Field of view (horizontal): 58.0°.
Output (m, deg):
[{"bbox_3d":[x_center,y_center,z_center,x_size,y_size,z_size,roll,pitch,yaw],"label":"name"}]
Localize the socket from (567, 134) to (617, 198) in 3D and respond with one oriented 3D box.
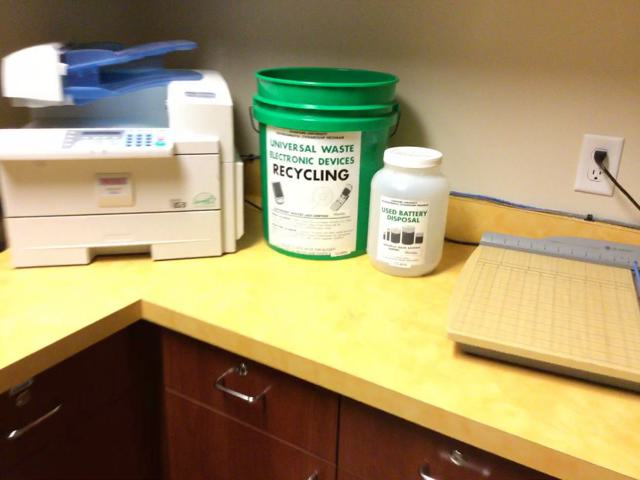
[{"bbox_3d":[0.550,-0.150,1.170,0.070,0.120,0.020,13,22,29],"label":"socket"}]
